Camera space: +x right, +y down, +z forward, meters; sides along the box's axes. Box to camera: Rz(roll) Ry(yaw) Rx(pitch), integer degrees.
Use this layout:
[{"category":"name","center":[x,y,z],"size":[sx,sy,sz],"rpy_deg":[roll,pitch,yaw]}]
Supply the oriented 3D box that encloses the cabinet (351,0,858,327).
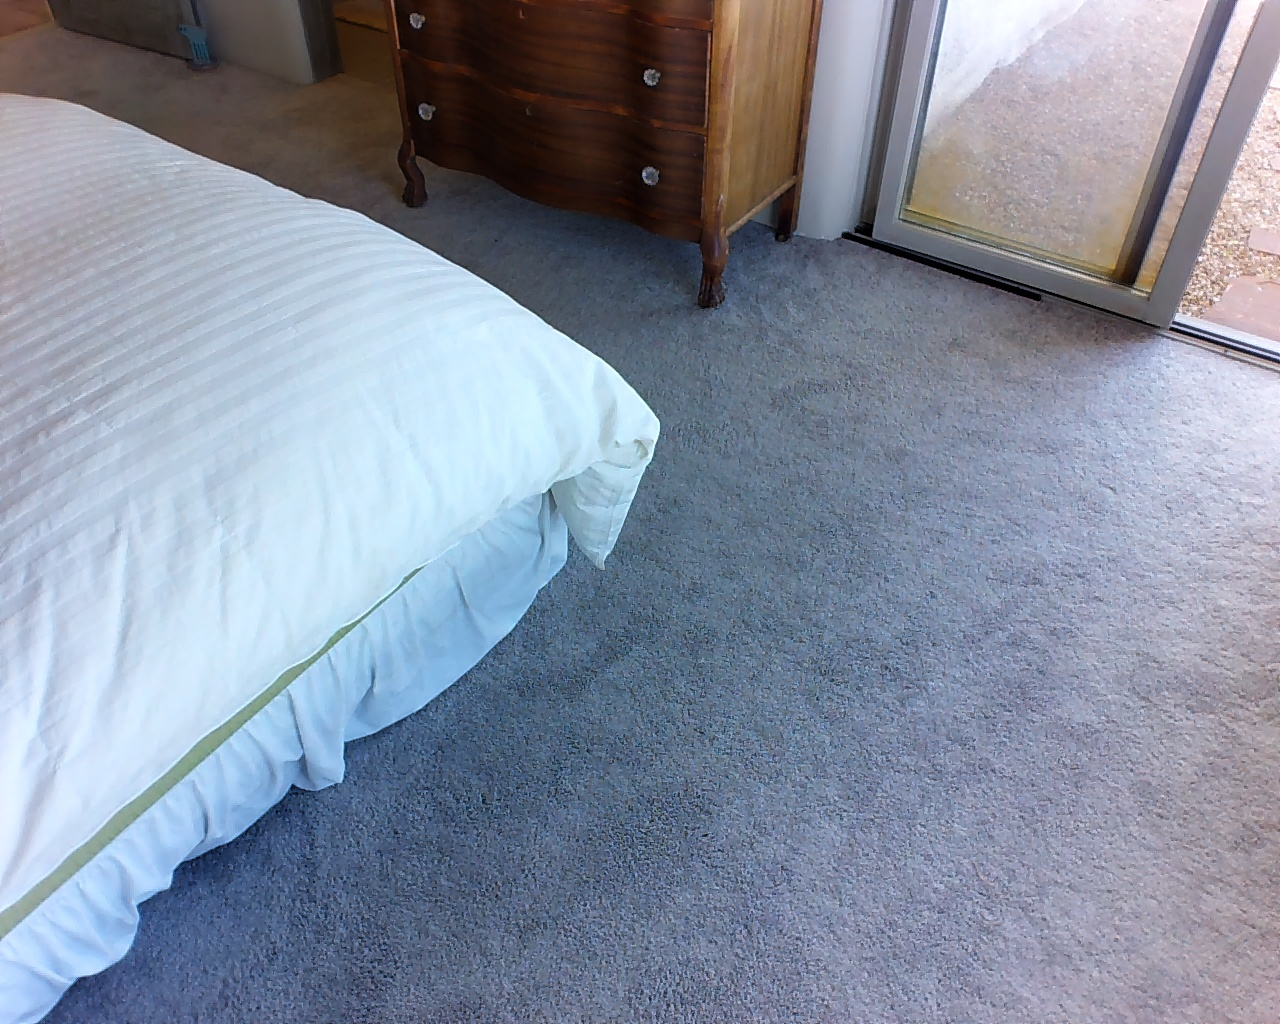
[{"category":"cabinet","center":[-0.100,-1.140,2.700],"size":[1.100,0.880,0.580],"rpy_deg":[24,48,24]}]
